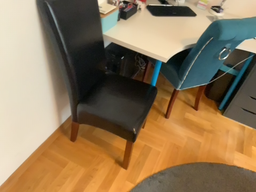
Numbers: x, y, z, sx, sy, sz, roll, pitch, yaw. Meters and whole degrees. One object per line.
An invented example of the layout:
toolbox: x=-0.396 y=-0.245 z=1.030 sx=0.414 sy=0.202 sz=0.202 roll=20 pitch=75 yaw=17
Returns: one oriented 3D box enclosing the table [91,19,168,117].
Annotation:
table: x=-0.030 y=-0.220 z=1.840 sx=0.540 sy=0.690 sz=0.190 roll=25 pitch=44 yaw=13
